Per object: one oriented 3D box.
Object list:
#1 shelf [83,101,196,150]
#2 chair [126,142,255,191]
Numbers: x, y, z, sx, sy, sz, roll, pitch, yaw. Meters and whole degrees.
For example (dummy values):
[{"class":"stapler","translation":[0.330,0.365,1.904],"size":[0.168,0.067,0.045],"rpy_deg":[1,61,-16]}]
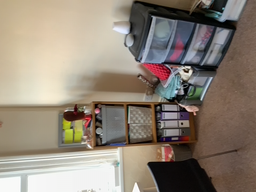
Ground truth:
[{"class":"shelf","translation":[0.120,0.280,2.110],"size":[0.320,1.060,0.410],"rpy_deg":[155,114,-66]},{"class":"chair","translation":[0.490,0.670,1.470],"size":[0.450,0.830,0.450],"rpy_deg":[-114,33,-47]}]
